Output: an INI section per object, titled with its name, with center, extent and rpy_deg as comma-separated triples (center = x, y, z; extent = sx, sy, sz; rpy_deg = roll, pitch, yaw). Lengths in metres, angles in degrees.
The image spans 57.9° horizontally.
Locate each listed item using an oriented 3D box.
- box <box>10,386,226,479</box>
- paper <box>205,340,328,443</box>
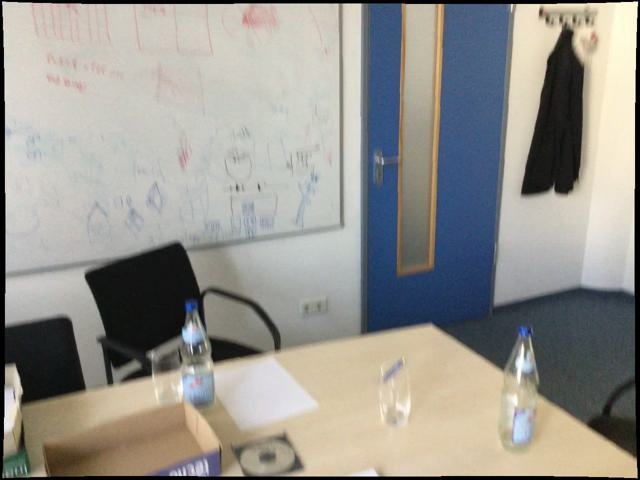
[box]
center = -0.420, 0.460, 1.210
extent = 0.390, 0.090, 0.260
rpy_deg = -10, 21, -20
[paper]
center = -0.150, 0.380, 1.510
extent = 0.230, 0.040, 0.330
rpy_deg = -10, 21, -20
